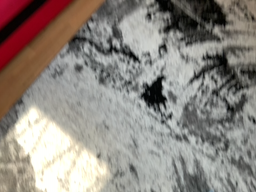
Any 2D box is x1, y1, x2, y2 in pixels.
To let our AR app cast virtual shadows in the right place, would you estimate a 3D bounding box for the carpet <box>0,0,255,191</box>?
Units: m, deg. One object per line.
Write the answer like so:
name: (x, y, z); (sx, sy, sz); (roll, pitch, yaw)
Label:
carpet: (0.220, 0.010, 0.990); (1.260, 0.060, 1.640); (36, 75, 6)
